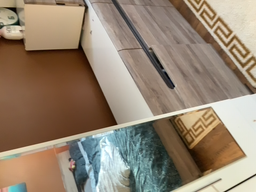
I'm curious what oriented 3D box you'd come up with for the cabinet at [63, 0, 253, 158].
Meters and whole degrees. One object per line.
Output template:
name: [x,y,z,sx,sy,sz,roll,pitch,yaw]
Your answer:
cabinet: [0.100,-0.410,1.760,1.520,0.830,0.510,64,147,27]
